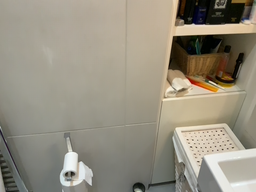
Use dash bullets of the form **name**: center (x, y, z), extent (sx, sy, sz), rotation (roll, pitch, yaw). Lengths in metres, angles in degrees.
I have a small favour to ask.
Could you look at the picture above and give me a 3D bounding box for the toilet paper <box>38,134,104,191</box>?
- **toilet paper**: center (-0.260, 0.500, 1.130), extent (0.250, 0.580, 0.220), rotation (-4, 35, -7)
